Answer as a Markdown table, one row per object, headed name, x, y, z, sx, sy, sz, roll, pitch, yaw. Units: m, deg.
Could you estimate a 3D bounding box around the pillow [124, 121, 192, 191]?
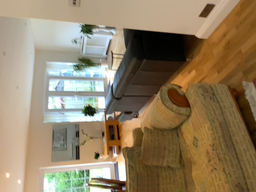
| name | x | y | z | sx | sy | sz | roll | pitch | yaw |
| --- | --- | --- | --- | --- | --- | --- | --- | --- | --- |
| pillow | 0.260 | 0.620 | 1.910 | 0.150 | 0.530 | 0.700 | 47 | -144 | -62 |
